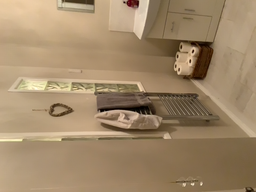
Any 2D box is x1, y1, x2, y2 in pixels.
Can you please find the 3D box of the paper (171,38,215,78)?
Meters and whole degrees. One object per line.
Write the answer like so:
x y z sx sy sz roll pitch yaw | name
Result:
0.770 -0.460 2.560 0.260 0.350 0.400 -112 26 -63 | paper

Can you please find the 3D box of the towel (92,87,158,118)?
-0.040 0.050 1.770 0.310 0.500 0.120 -112 26 -63 | towel

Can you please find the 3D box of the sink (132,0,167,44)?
0.230 -1.040 2.170 0.500 0.190 0.870 -109 23 -60 | sink
